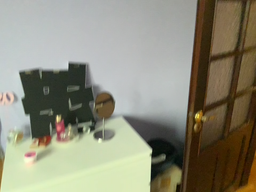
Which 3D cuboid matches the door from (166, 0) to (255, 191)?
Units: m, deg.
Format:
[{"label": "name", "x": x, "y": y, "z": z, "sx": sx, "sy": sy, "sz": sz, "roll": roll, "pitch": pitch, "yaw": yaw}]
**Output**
[{"label": "door", "x": 0.650, "y": -0.090, "z": 1.360, "sx": 0.830, "sy": 1.970, "sz": 0.160, "roll": -16, "pitch": 28, "yaw": -33}]
